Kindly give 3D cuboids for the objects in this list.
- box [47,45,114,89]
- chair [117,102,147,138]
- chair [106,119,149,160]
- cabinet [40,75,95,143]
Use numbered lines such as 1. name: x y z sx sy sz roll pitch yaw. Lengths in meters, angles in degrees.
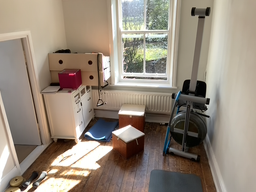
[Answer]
1. box: -0.720 -0.500 3.470 0.820 0.550 0.700 3 21 8
2. chair: 0.080 0.410 3.720 0.460 0.460 0.410 3 22 9
3. chair: -0.010 0.620 3.110 0.420 0.300 0.450 -17 26 -35
4. cabinet: -0.960 0.170 3.610 0.470 0.790 0.960 3 22 9
